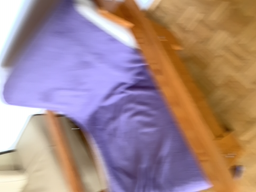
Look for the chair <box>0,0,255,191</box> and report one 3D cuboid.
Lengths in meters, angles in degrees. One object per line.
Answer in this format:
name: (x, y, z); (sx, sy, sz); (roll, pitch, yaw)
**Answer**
chair: (-0.030, 0.120, 0.980); (0.730, 0.750, 0.760); (-36, 70, 30)
